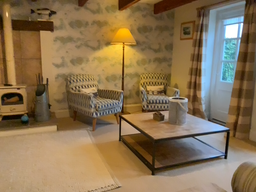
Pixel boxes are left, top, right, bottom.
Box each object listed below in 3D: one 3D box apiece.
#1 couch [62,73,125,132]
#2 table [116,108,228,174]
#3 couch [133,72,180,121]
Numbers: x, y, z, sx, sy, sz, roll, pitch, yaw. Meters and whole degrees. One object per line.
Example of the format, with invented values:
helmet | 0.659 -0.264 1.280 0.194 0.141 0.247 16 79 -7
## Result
couch | -0.610 0.050 3.750 0.860 0.840 0.720 11 14 44
table | 0.500 0.490 2.760 1.010 0.370 1.020 -3 11 -23
couch | 0.530 -0.030 4.300 0.720 0.850 0.860 0 10 -6
